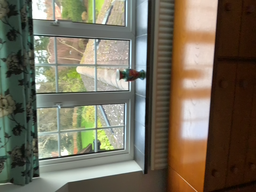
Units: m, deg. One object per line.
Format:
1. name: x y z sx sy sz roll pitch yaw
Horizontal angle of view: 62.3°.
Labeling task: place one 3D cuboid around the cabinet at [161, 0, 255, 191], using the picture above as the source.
1. cabinet: 0.670 -0.110 1.500 0.500 0.630 1.370 -152 61 -68
